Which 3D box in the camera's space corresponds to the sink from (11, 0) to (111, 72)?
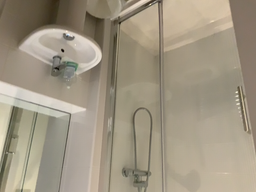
[{"bbox_3d":[-0.390,-0.350,1.300,0.340,0.170,0.450,-14,154,37],"label":"sink"}]
